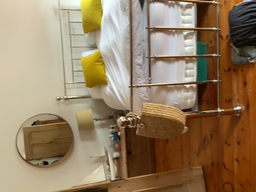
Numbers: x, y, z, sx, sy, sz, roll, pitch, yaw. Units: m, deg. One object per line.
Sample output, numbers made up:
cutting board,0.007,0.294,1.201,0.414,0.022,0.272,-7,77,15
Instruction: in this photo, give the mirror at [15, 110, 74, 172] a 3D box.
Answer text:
mirror,-1.240,0.650,3.200,0.240,0.750,0.800,174,92,-72

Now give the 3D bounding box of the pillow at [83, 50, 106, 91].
pillow,-0.460,-0.320,2.820,0.510,0.190,0.460,174,92,-72
